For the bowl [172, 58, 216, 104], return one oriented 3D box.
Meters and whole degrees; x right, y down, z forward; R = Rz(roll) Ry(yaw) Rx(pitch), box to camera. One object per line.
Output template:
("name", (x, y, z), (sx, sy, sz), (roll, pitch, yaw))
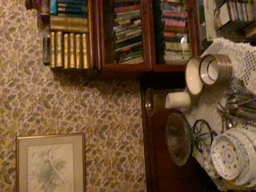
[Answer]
("bowl", (0.400, -0.080, 1.340), (0.310, 0.100, 0.220), (146, 121, -73))
